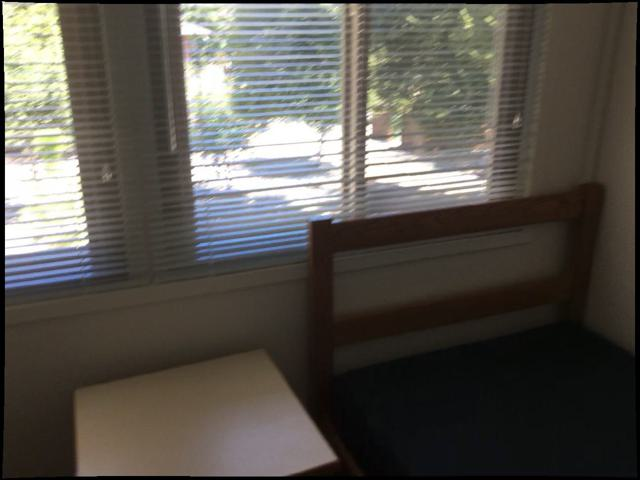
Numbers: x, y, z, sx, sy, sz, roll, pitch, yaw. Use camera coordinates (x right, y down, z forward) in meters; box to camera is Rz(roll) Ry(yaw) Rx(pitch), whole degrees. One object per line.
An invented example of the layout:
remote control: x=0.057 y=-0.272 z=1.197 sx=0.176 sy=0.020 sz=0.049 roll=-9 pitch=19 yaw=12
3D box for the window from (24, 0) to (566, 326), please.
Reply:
window: x=0.000 y=-0.461 z=1.610 sx=1.397 sy=1.163 sz=0.260 roll=-9 pitch=23 yaw=-17
